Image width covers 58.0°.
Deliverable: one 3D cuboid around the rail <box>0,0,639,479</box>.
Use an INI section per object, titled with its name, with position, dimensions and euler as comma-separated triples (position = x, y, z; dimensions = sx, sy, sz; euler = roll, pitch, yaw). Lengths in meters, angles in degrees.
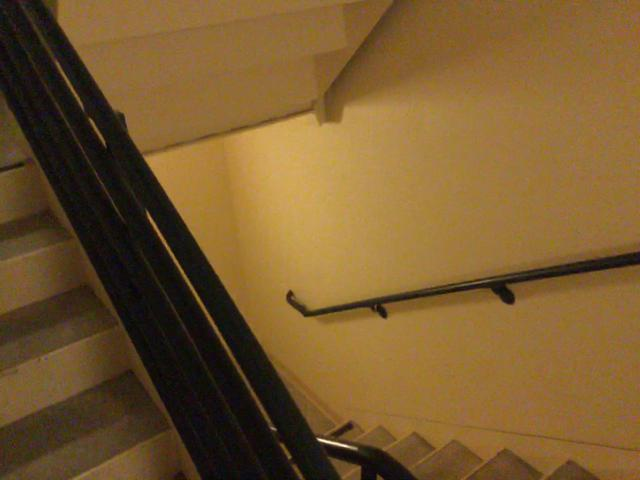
[rail]
position = -0.310, 0.510, 1.460
dimensions = 0.300, 2.430, 1.930
euler = -20, 35, -28
